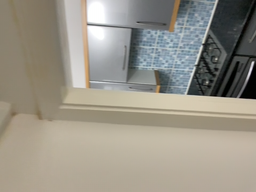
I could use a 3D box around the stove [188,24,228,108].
[{"bbox_3d":[0.770,-0.310,2.150,0.590,0.030,0.620,-90,5,-49],"label":"stove"}]
